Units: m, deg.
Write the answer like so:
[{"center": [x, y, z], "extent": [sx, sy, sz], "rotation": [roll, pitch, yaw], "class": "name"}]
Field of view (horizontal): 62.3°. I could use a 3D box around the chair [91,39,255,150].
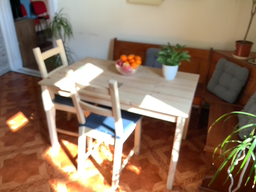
[{"center": [0.570, -0.110, 2.570], "extent": [1.890, 0.780, 0.650], "rotation": [12, 30, 16], "class": "chair"}]
